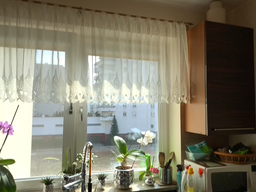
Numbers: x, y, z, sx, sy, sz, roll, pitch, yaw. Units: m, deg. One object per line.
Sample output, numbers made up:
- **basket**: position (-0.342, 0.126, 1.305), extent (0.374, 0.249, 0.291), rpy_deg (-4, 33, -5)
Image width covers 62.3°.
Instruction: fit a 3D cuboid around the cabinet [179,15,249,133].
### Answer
- **cabinet**: position (0.780, -0.170, 1.960), extent (0.500, 0.970, 0.320), rpy_deg (2, -3, -18)
